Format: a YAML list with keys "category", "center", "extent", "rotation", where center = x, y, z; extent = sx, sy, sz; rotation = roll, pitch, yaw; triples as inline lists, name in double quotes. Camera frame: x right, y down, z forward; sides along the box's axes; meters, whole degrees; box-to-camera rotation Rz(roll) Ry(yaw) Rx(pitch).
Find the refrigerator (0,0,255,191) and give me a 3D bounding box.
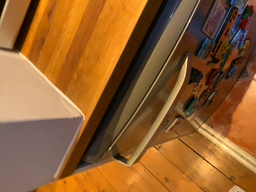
- category: "refrigerator"
  center: [0.150, -0.170, 0.780]
  extent: [0.390, 0.920, 0.690]
  rotation: [38, 108, 28]
